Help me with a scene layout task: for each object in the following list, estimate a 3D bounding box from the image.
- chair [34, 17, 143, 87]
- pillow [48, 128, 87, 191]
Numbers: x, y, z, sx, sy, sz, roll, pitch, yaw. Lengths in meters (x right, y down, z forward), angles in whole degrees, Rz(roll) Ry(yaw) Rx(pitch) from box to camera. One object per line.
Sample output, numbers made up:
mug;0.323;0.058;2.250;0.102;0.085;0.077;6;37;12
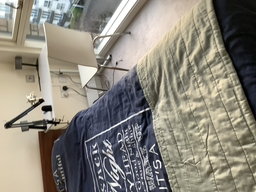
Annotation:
chair;-0.380;-0.360;2.020;0.490;0.860;0.360;-36;61;51
pillow;-0.560;0.630;1.910;0.360;0.180;0.600;-35;62;51
